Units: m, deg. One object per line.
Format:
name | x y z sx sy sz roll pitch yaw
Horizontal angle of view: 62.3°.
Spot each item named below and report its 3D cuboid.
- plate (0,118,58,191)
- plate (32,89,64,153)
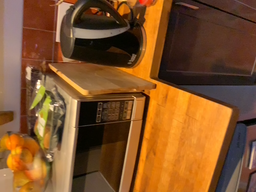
plate | -0.380 0.240 0.750 0.250 0.170 0.230 28 114 50
plate | -0.250 0.070 0.650 0.130 0.050 0.150 31 116 49
